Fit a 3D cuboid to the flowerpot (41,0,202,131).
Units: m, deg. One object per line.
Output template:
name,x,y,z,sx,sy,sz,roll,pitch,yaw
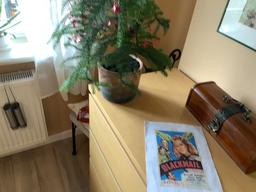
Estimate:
flowerpot,-0.050,-0.210,0.710,0.400,0.500,0.300,-11,41,-23
